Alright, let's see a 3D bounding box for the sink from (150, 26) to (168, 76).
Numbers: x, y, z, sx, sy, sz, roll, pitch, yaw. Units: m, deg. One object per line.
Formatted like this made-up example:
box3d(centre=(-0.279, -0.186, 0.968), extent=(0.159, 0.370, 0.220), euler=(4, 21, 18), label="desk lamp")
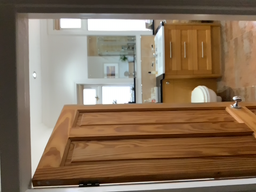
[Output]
box3d(centre=(0.480, -0.690, 3.380), extent=(0.460, 0.170, 0.690), euler=(160, 109, -85), label="sink")
